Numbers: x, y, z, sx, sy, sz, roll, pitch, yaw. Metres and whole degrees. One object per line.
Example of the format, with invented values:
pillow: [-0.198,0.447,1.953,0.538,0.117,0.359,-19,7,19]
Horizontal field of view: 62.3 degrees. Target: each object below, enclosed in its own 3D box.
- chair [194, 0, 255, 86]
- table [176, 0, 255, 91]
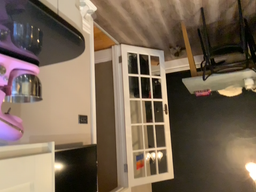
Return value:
chair: [1.050,-0.590,2.370,0.470,0.830,0.460,-8,170,19]
table: [1.480,-0.610,2.630,1.520,0.770,0.980,-8,170,20]
